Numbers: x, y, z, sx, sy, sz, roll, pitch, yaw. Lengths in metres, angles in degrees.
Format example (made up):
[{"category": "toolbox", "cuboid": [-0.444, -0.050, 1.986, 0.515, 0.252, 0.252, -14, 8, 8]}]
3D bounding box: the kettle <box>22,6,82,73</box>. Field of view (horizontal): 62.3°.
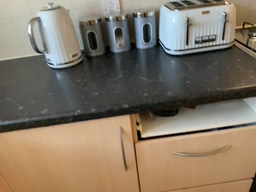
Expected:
[{"category": "kettle", "cuboid": [-0.320, -0.250, 0.940, 0.170, 0.240, 0.130, -8, 32, -1]}]
